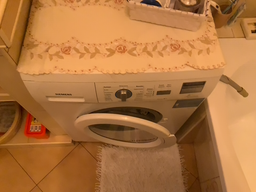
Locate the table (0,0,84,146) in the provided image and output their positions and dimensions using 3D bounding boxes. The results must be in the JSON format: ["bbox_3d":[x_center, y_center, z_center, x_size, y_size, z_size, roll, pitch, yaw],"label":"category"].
[{"bbox_3d":[-0.670,-0.120,0.950,0.760,1.040,0.470,0,65,-3],"label":"table"}]
